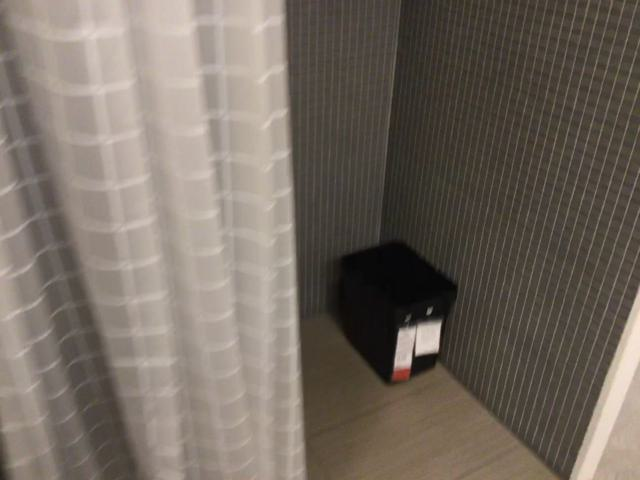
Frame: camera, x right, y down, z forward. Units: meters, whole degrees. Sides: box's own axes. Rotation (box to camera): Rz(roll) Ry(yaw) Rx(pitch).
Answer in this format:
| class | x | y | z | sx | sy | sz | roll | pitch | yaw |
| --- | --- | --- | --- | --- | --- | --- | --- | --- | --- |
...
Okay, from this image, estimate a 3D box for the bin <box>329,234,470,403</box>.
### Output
| class | x | y | z | sx | sy | sz | roll | pitch | yaw |
| --- | --- | --- | --- | --- | --- | --- | --- | --- | --- |
| bin | 0.230 | 0.230 | 1.820 | 0.240 | 0.320 | 0.380 | -16 | 34 | -25 |
